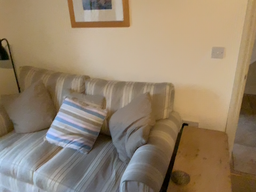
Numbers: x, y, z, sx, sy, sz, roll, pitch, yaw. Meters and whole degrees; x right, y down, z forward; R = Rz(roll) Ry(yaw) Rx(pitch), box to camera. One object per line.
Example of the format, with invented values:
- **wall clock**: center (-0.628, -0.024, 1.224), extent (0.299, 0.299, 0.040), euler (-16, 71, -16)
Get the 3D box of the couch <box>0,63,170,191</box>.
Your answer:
- **couch**: center (-0.570, 0.340, 1.850), extent (1.640, 0.900, 1.000), euler (8, 26, 20)
